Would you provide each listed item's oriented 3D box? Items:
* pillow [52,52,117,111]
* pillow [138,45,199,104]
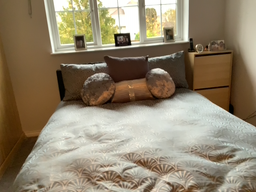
[{"bbox_3d":[-0.450,-0.160,2.280,0.540,0.460,0.190,-19,20,-7],"label":"pillow"},{"bbox_3d":[0.460,-0.250,2.420,0.510,0.470,0.220,-27,20,-6],"label":"pillow"}]
